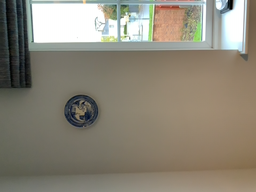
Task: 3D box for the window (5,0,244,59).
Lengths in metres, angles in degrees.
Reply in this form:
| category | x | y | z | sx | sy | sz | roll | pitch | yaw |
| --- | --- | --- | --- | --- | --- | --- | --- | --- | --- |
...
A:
| category | x | y | z | sx | sy | sz | roll | pitch | yaw |
| --- | --- | --- | --- | --- | --- | --- | --- | --- | --- |
| window | -0.010 | -1.070 | 1.060 | 0.330 | 1.090 | 1.730 | -118 | 28 | -83 |
